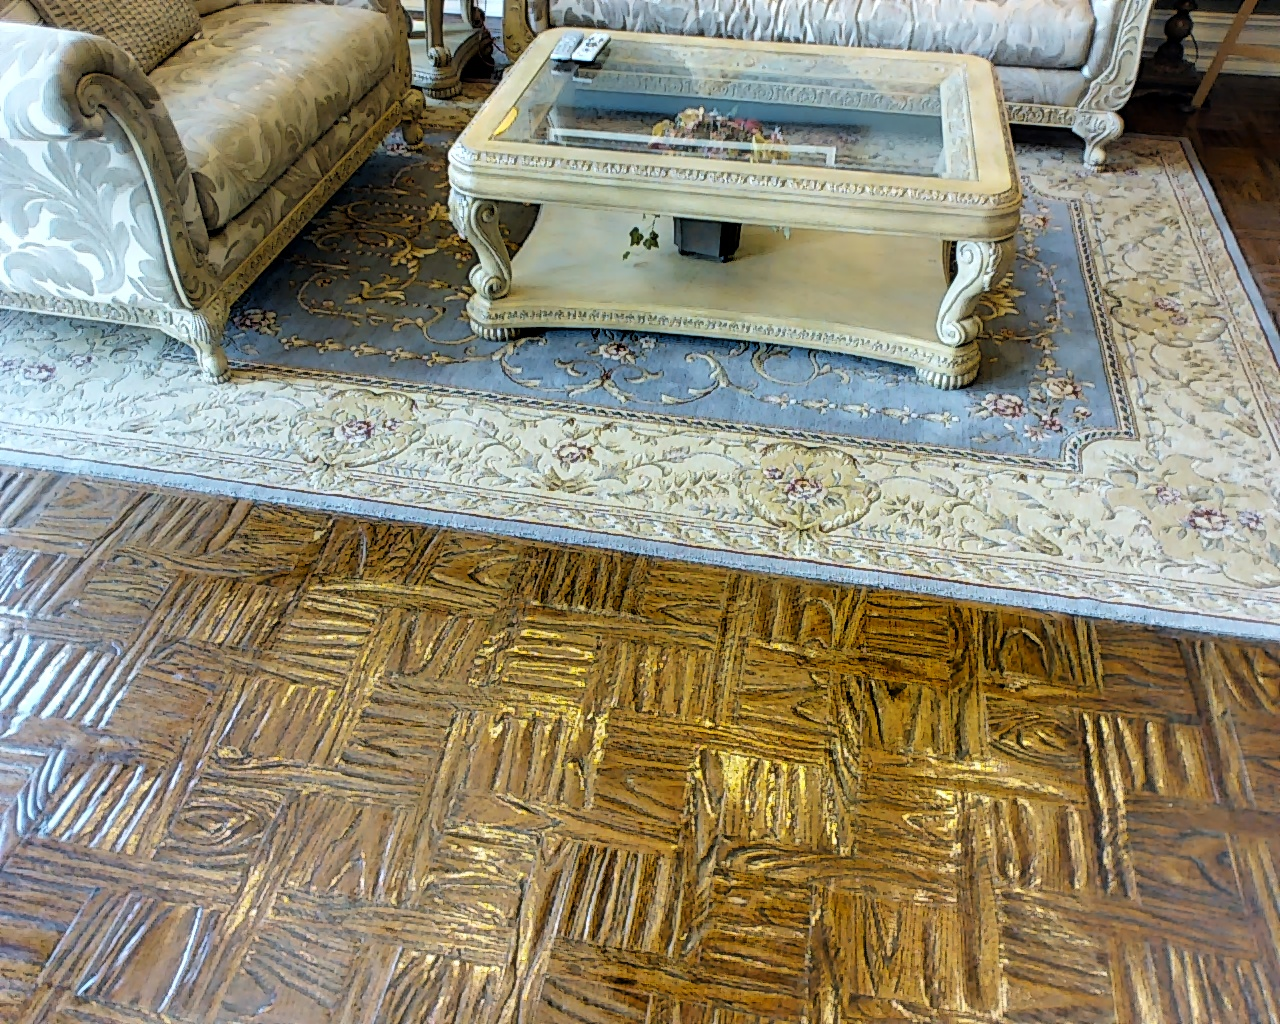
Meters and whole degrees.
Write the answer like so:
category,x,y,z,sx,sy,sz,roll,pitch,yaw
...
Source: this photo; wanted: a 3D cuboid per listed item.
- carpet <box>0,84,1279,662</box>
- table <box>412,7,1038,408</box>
category,x,y,z,sx,sy,sz,roll,pitch,yaw
carpet,0.030,-0.610,2.840,3.340,0.010,2.080,8,42,8
table,0.240,-0.840,2.760,1.330,0.510,0.950,8,42,8
